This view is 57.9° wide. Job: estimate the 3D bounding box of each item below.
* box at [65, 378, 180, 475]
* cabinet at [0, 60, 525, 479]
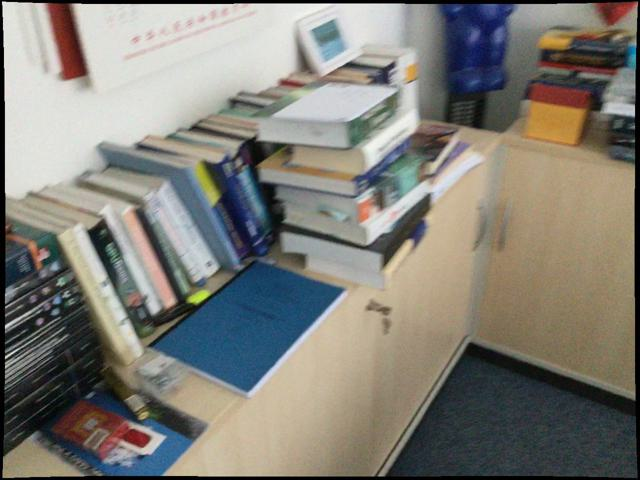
[{"bbox_3d":[-0.280,0.260,0.820,0.140,0.030,0.080,19,40,28],"label":"box"},{"bbox_3d":[-0.030,0.280,1.470,0.450,0.961,1.640,19,40,28],"label":"cabinet"}]
